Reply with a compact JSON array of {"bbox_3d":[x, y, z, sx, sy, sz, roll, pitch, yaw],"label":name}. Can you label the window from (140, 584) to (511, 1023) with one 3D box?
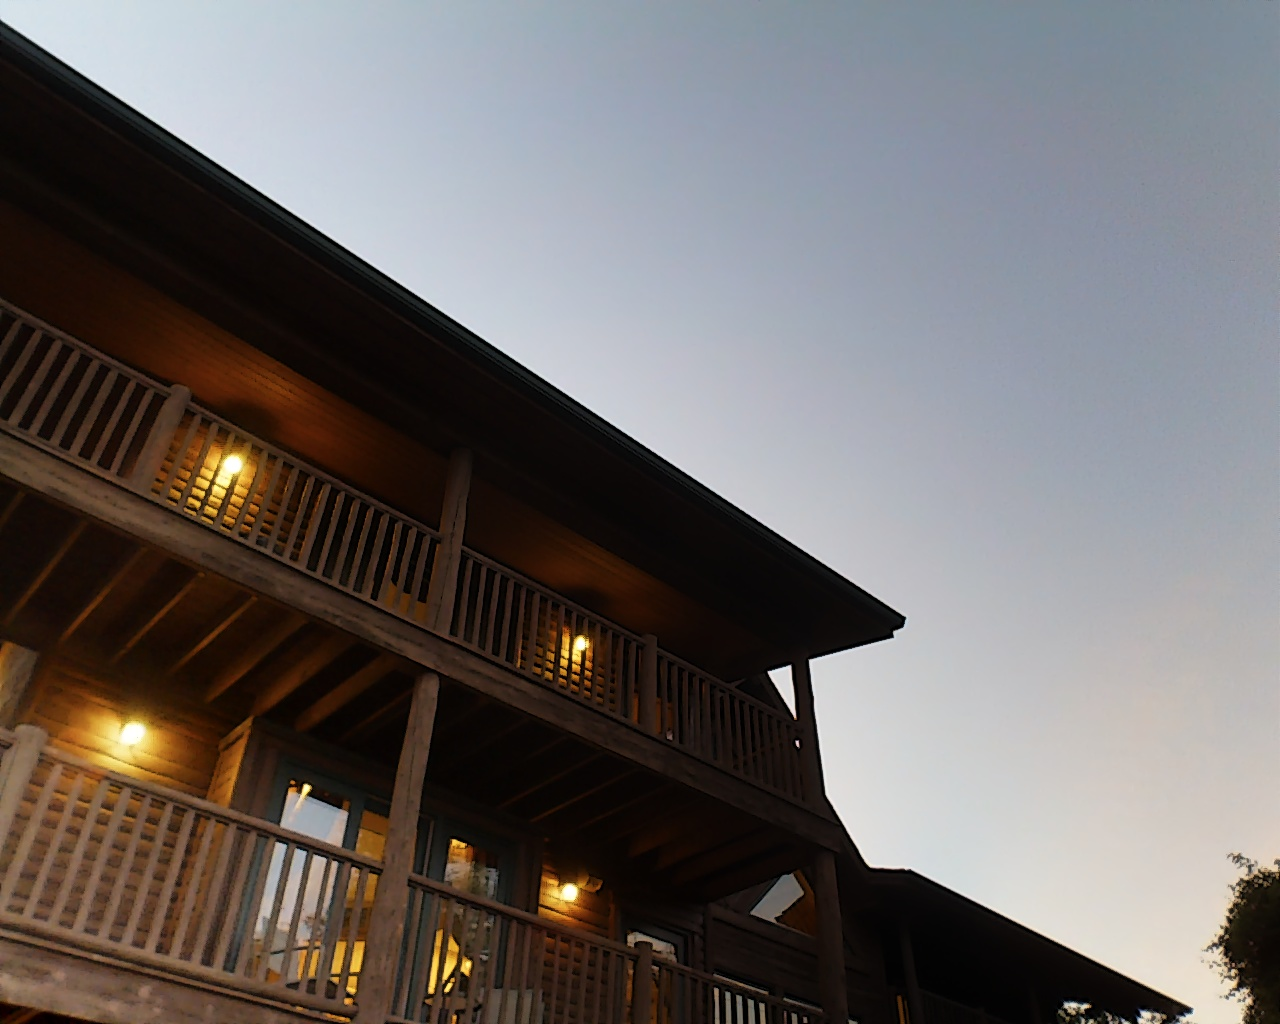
[{"bbox_3d":[-1.819,2.141,7.100,0.490,2.291,2.480,-16,-44,20],"label":"window"}]
